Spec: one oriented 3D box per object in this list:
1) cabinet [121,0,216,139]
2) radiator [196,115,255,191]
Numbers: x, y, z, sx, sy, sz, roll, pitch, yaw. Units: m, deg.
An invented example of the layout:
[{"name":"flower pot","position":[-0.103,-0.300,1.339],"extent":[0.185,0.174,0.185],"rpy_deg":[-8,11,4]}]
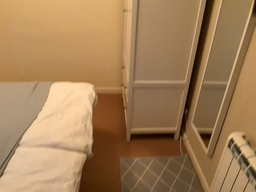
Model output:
[{"name":"cabinet","position":[0.300,-0.630,2.300],"extent":[0.660,1.940,1.070],"rpy_deg":[0,31,-4]},{"name":"radiator","position":[0.590,0.600,1.150],"extent":[0.090,0.630,0.810],"rpy_deg":[2,31,-1]}]
